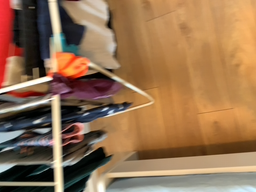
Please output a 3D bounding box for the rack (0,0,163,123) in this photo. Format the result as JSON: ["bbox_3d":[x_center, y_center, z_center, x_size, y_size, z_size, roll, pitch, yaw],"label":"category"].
[{"bbox_3d":[-0.340,-0.540,1.060,0.570,0.800,1.190,-15,87,24],"label":"rack"}]
